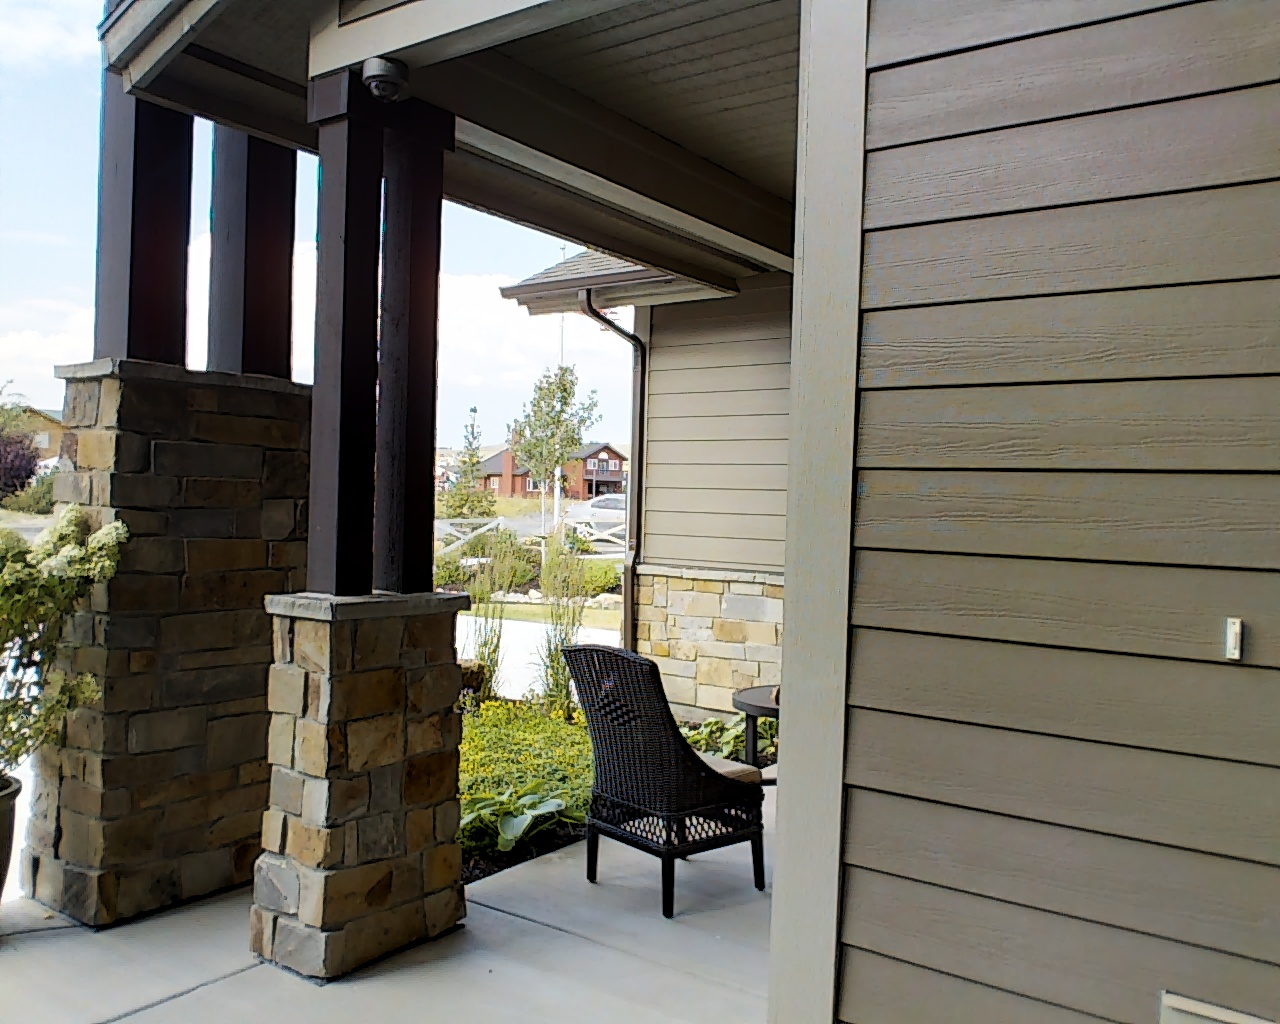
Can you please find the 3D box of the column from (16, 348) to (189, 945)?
[{"bbox_3d":[-1.890,0.450,3.770,0.440,2.020,0.220,2,0,12],"label":"column"}]

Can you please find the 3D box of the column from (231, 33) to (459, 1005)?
[{"bbox_3d":[-0.970,0.020,3.510,0.530,2.920,0.360,3,1,35],"label":"column"}]
